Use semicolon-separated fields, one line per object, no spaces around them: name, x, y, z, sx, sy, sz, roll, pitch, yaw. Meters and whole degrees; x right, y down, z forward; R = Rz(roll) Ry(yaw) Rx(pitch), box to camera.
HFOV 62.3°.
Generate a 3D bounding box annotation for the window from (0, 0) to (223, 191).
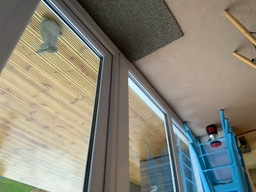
window;-0.030;0.550;1.010;0.250;2.360;3.450;-25;135;25
